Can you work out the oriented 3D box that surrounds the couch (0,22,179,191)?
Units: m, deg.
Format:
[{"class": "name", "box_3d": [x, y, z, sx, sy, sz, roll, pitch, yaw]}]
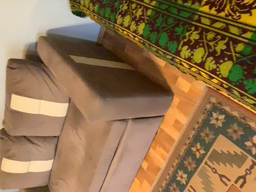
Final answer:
[{"class": "couch", "box_3d": [-0.530, 0.390, 1.780, 1.040, 0.830, 1.540, 42, 120, 39]}]
